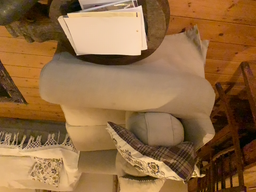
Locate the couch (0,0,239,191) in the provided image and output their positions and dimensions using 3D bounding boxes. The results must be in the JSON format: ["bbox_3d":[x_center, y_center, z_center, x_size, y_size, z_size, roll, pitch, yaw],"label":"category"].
[{"bbox_3d":[-0.100,0.270,1.850,0.960,0.810,1.910,4,148,-3],"label":"couch"}]

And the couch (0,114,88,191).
[{"bbox_3d":[-1.670,0.840,3.030,2.060,0.680,1.260,6,148,-6],"label":"couch"}]
